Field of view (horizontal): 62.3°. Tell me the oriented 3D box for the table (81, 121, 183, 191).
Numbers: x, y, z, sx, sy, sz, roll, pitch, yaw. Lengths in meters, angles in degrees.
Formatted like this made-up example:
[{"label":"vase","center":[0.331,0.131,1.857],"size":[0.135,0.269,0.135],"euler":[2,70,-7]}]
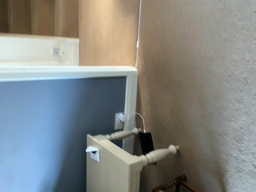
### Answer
[{"label":"table","center":[0.000,0.610,1.610],"size":[0.560,0.490,0.620],"euler":[19,110,49]}]
